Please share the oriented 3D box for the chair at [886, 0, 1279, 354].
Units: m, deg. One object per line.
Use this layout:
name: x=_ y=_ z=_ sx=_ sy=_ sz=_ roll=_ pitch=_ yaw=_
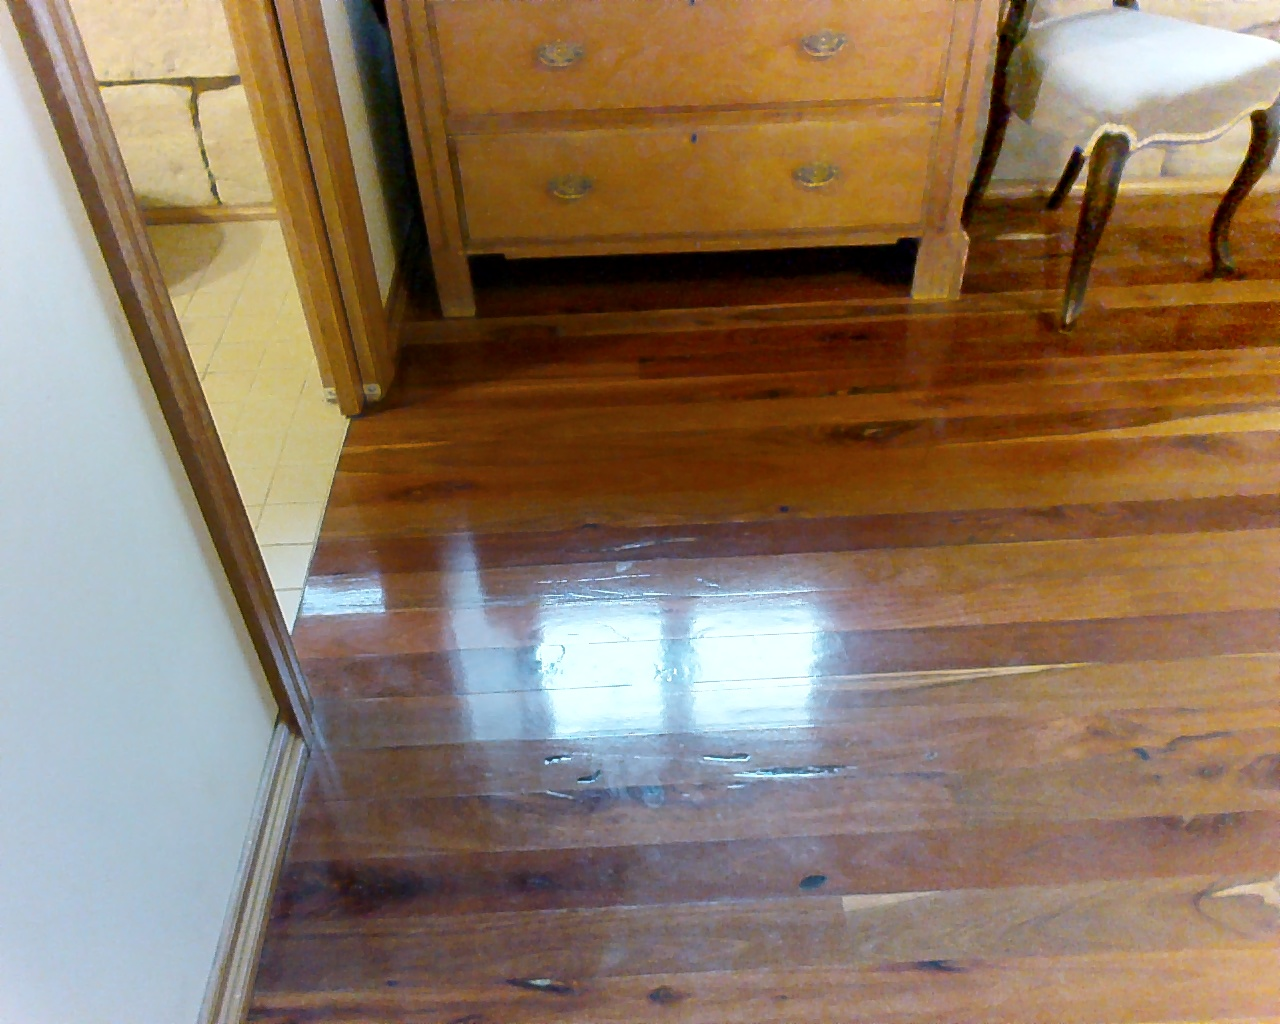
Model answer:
chair: x=0.880 y=-0.860 z=2.030 sx=0.480 sy=0.860 sz=0.550 roll=-22 pitch=45 yaw=-20
